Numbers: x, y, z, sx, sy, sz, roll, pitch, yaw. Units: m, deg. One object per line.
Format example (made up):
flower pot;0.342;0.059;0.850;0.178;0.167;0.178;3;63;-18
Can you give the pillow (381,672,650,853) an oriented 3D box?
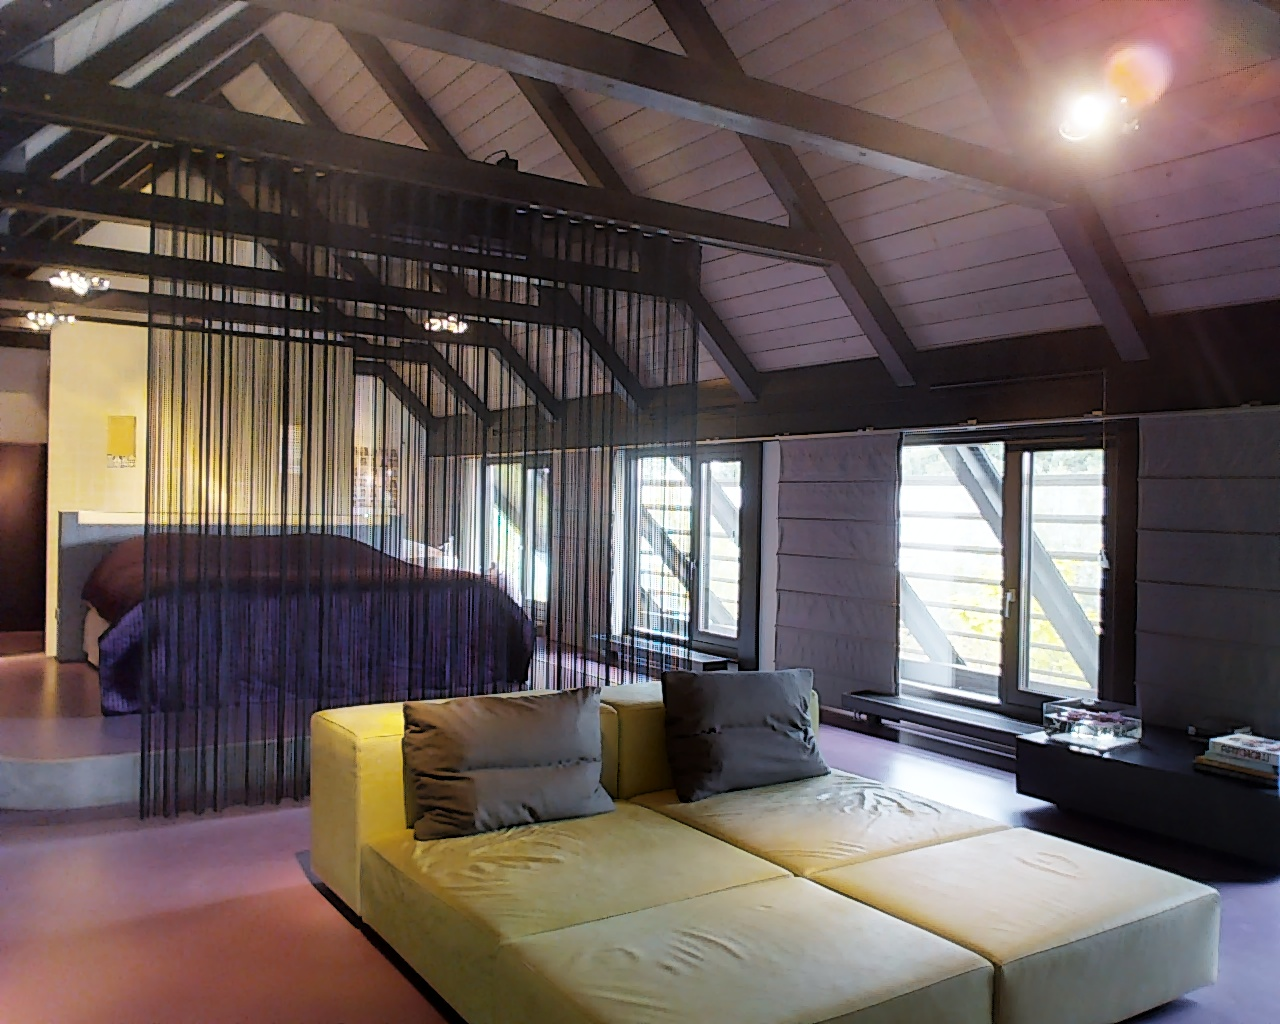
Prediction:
pillow;-0.390;0.770;3.440;0.770;0.420;0.350;1;0;-33

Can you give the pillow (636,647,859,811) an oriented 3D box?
pillow;0.400;0.770;3.950;0.760;0.470;0.340;1;0;-33
